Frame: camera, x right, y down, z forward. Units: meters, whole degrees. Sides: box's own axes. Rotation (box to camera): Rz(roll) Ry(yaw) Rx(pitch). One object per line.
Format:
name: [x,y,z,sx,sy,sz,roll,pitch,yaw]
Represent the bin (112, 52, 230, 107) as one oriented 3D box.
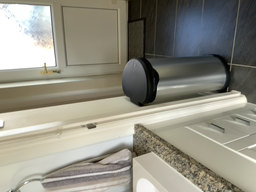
bin: [0.290,-0.150,1.450,0.360,0.710,0.260,24,118,58]
